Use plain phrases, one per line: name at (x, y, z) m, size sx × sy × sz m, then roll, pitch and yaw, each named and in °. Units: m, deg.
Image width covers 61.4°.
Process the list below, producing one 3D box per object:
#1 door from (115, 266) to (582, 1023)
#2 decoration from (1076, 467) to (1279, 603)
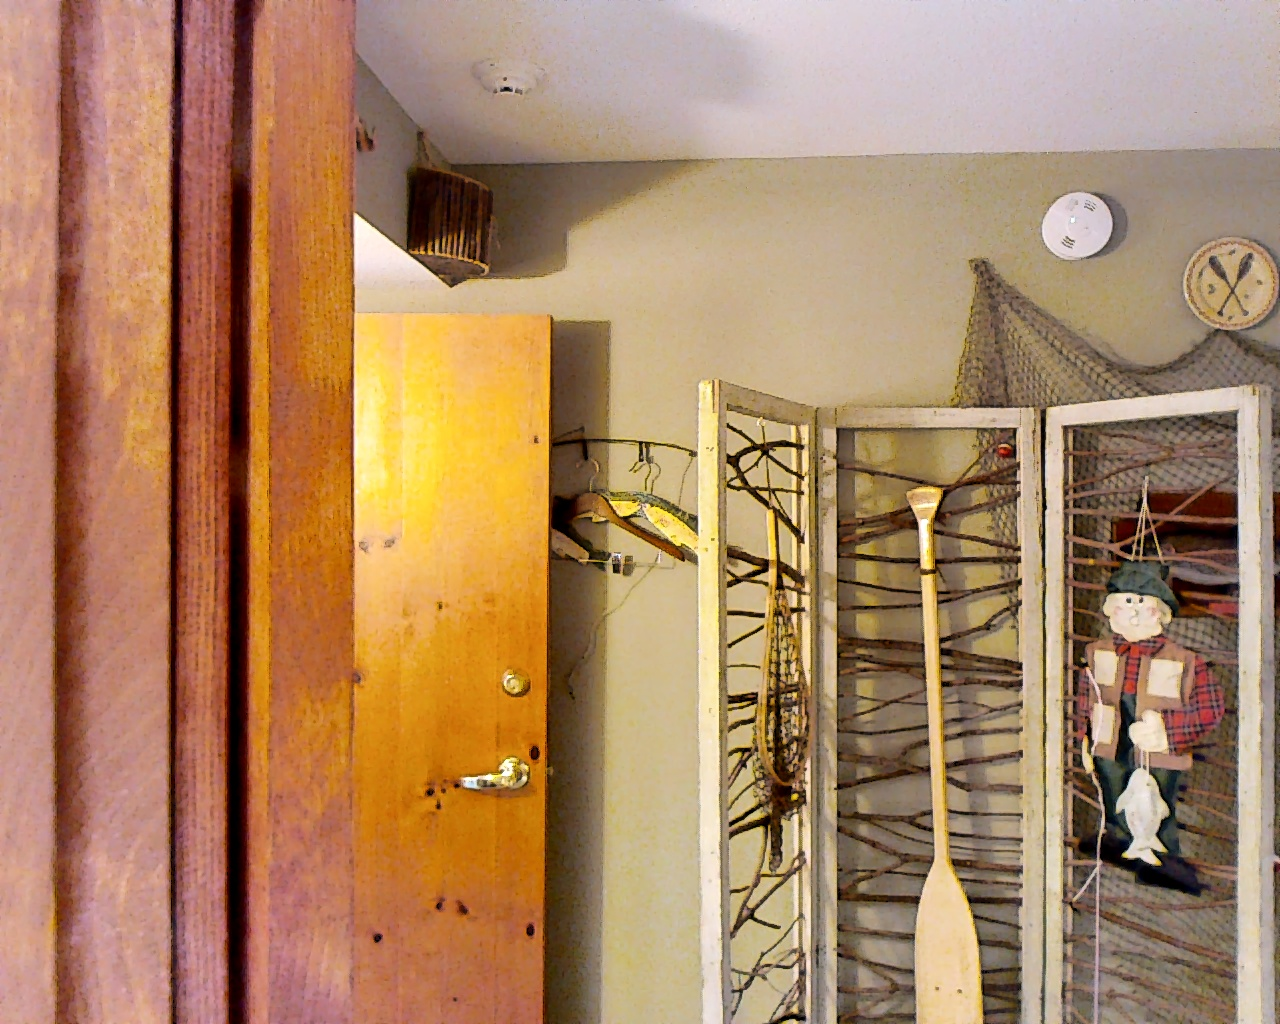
door at (-0.640, 0.510, 2.380) m, size 0.990 × 2.070 × 0.140 m, roll 1°, pitch 0°, yaw 5°
decoration at (1.300, 0.050, 2.390) m, size 0.610 × 0.290 × 0.110 m, roll 1°, pitch 0°, yaw 5°
